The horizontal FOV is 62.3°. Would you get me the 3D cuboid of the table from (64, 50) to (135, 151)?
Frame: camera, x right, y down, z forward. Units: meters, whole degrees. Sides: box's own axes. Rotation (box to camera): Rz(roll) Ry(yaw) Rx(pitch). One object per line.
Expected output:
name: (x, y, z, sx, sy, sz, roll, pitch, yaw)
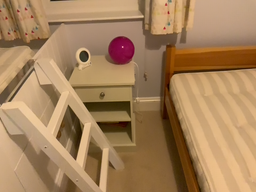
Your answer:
table: (-0.180, 0.040, 1.750, 0.450, 0.670, 0.470, -2, 35, 0)
